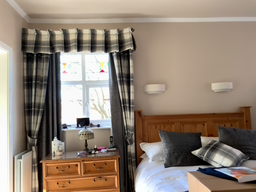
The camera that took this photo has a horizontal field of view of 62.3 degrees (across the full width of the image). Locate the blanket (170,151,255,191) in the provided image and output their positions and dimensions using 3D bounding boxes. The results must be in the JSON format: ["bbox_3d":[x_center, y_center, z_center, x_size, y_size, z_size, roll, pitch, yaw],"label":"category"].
[{"bbox_3d":[0.690,0.550,1.350,0.690,0.240,0.630,-2,-4,-2],"label":"blanket"}]

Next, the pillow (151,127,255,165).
[{"bbox_3d":[0.940,0.590,2.600,1.230,0.310,0.430,-2,-4,-4],"label":"pillow"}]
